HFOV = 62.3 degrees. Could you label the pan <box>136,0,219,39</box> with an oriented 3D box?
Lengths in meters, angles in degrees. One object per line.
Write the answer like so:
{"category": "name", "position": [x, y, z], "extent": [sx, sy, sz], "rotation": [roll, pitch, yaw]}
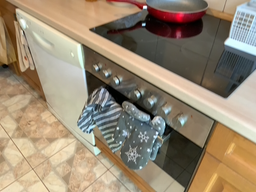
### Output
{"category": "pan", "position": [0.220, -0.360, 0.940], "extent": [0.290, 0.050, 0.230], "rotation": [-32, 51, -32]}
